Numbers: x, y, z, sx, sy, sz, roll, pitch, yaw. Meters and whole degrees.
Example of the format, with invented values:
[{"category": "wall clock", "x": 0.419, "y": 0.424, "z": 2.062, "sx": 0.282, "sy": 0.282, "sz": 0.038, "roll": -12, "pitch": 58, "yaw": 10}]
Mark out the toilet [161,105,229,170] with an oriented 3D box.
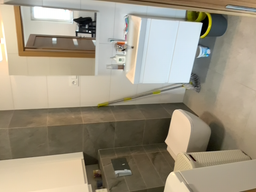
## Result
[{"category": "toilet", "x": 0.670, "y": 0.410, "z": 2.210, "sx": 0.370, "sy": 0.450, "sz": 0.510, "roll": -126, "pitch": 38, "yaw": -60}]
